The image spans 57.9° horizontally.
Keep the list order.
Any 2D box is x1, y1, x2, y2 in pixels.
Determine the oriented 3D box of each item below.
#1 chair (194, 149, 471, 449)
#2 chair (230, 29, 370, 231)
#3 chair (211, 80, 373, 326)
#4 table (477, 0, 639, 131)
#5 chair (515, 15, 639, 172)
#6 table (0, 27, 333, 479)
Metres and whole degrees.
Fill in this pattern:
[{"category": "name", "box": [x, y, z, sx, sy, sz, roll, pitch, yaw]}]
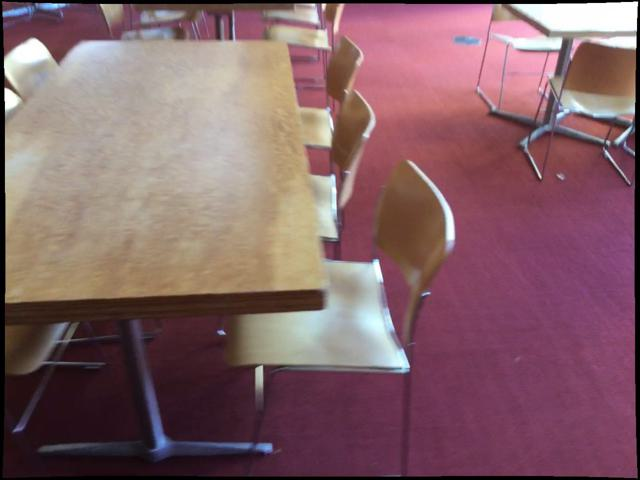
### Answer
[{"category": "chair", "box": [0.020, 0.160, 1.590, 0.579, 0.660, 0.480, 1, 34, -1]}, {"category": "chair", "box": [-0.100, -0.490, 2.550, 0.519, 0.720, 0.510, -2, 35, -5]}, {"category": "chair", "box": [-0.100, -0.120, 2.010, 0.460, 0.751, 0.380, -2, 35, -5]}, {"category": "table", "box": [1.738, -1.121, 3.480, 1.269, 0.620, 0.810, -2, 35, -5]}, {"category": "chair", "box": [1.429, -0.761, 2.990, 0.549, 0.660, 0.470, -2, 35, -5]}, {"category": "table", "box": [-0.539, -0.140, 2.060, 0.959, 0.730, 1.841, -2, 35, -5]}]
